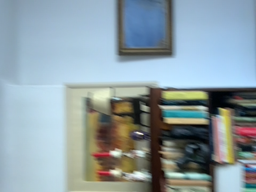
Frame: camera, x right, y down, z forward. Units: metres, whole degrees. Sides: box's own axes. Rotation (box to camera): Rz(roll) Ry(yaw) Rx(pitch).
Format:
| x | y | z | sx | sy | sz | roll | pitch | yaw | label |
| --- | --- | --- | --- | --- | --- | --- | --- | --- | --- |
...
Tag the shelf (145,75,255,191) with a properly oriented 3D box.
| x | y | z | sx | sy | sz | roll | pitch | yaw | label |
| --- | --- | --- | --- | --- | --- | --- | --- | --- | --- |
| 0.620 | 0.320 | 1.090 | 0.340 | 1.050 | 0.810 | 17 | -107 | -84 | shelf |
